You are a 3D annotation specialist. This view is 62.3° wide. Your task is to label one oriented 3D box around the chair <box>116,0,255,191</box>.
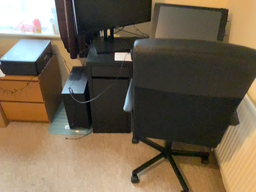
[{"bbox_3d":[0.340,0.060,1.440,0.670,1.170,0.800,9,37,8],"label":"chair"}]
